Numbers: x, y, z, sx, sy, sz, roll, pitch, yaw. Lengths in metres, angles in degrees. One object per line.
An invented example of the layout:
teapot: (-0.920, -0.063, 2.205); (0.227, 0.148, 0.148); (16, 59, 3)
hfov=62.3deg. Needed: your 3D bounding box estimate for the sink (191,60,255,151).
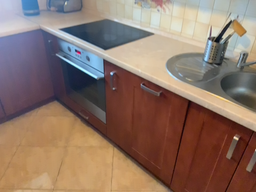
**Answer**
sink: (0.670, 0.040, 1.100); (0.460, 0.190, 0.460); (30, 43, 35)
